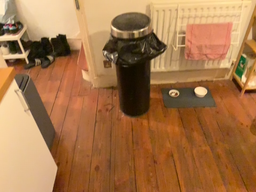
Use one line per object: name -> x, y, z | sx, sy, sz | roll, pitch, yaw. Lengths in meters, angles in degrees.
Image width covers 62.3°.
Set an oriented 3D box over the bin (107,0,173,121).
bin -> 0.070, -0.280, 1.770 | 0.400, 0.850, 0.510 | -5, 42, -2
